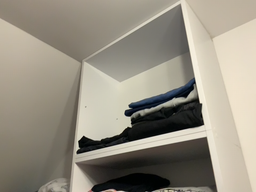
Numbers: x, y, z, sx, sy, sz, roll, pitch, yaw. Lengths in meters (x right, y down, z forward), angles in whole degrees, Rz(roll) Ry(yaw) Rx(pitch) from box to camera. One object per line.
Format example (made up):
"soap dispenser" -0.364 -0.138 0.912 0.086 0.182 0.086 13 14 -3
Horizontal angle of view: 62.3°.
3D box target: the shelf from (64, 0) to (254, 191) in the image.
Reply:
"shelf" 0.090 0.430 0.820 0.680 1.570 0.320 -21 -32 33
